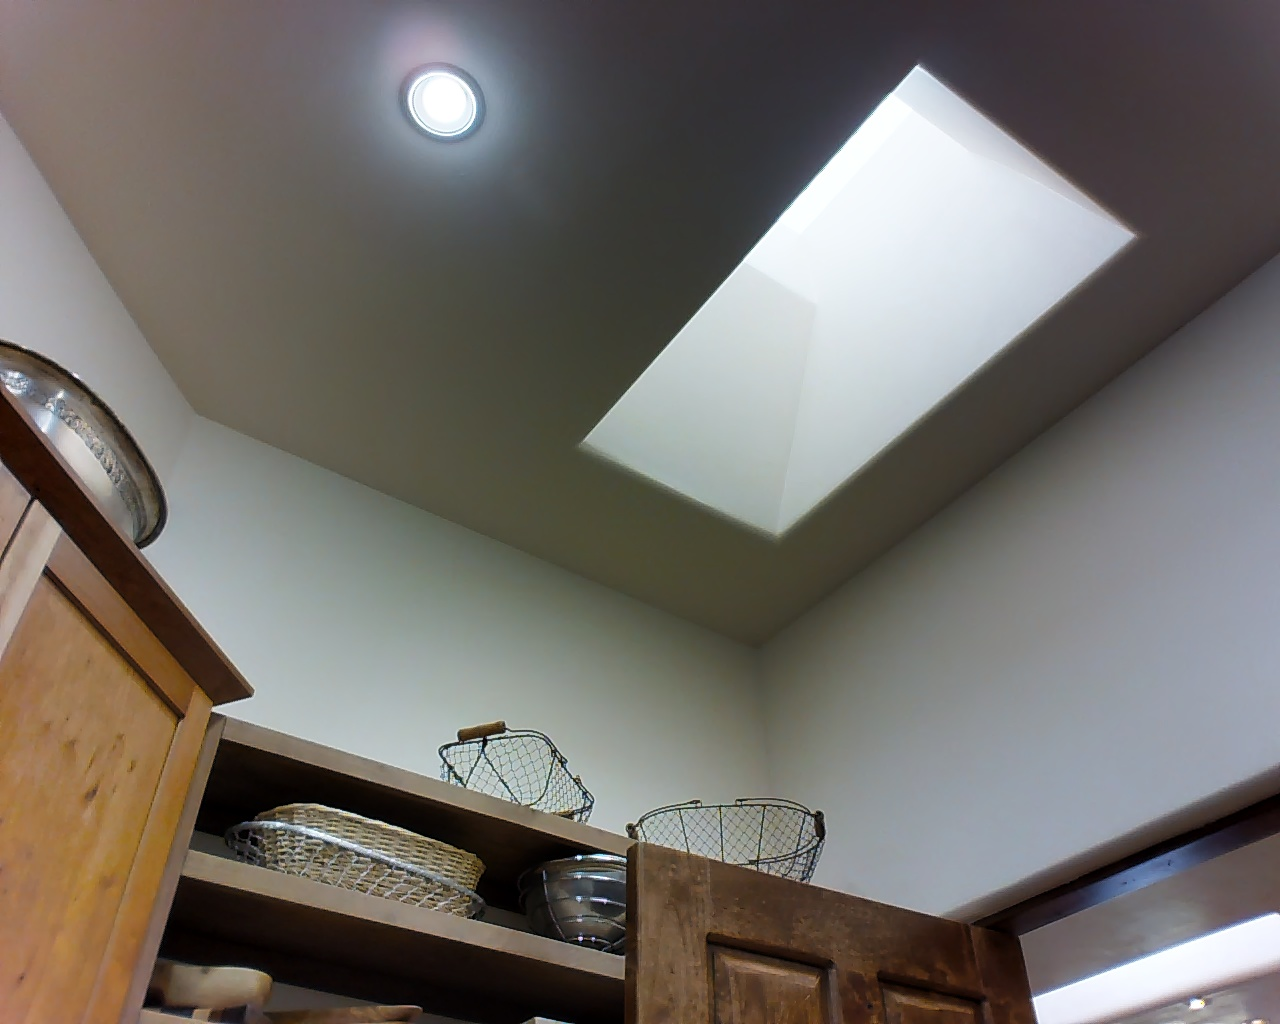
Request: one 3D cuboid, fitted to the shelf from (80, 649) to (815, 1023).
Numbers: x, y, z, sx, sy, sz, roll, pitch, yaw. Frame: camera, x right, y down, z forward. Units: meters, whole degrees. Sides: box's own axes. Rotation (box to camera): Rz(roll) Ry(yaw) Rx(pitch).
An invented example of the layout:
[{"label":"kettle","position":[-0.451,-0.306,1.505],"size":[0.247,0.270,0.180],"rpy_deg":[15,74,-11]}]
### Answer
[{"label":"shelf","position":[-0.240,0.860,1.580],"size":[1.080,0.970,0.330],"rpy_deg":[25,-48,-25]}]
